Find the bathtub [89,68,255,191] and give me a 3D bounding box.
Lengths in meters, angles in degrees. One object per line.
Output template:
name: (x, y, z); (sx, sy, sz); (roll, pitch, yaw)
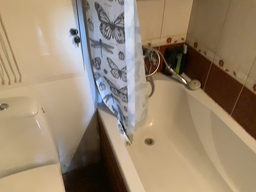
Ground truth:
bathtub: (0.300, 0.490, 1.160); (0.690, 0.580, 1.400); (-12, 40, -17)
